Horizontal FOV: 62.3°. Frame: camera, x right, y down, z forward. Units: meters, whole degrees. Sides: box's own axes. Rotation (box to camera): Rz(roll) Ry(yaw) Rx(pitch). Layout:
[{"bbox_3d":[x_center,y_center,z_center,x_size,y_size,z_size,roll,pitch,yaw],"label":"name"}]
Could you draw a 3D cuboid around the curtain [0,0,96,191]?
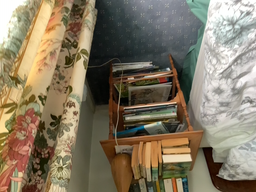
[{"bbox_3d":[-0.270,0.360,0.420,0.190,2.260,0.560,-8,141,4],"label":"curtain"}]
